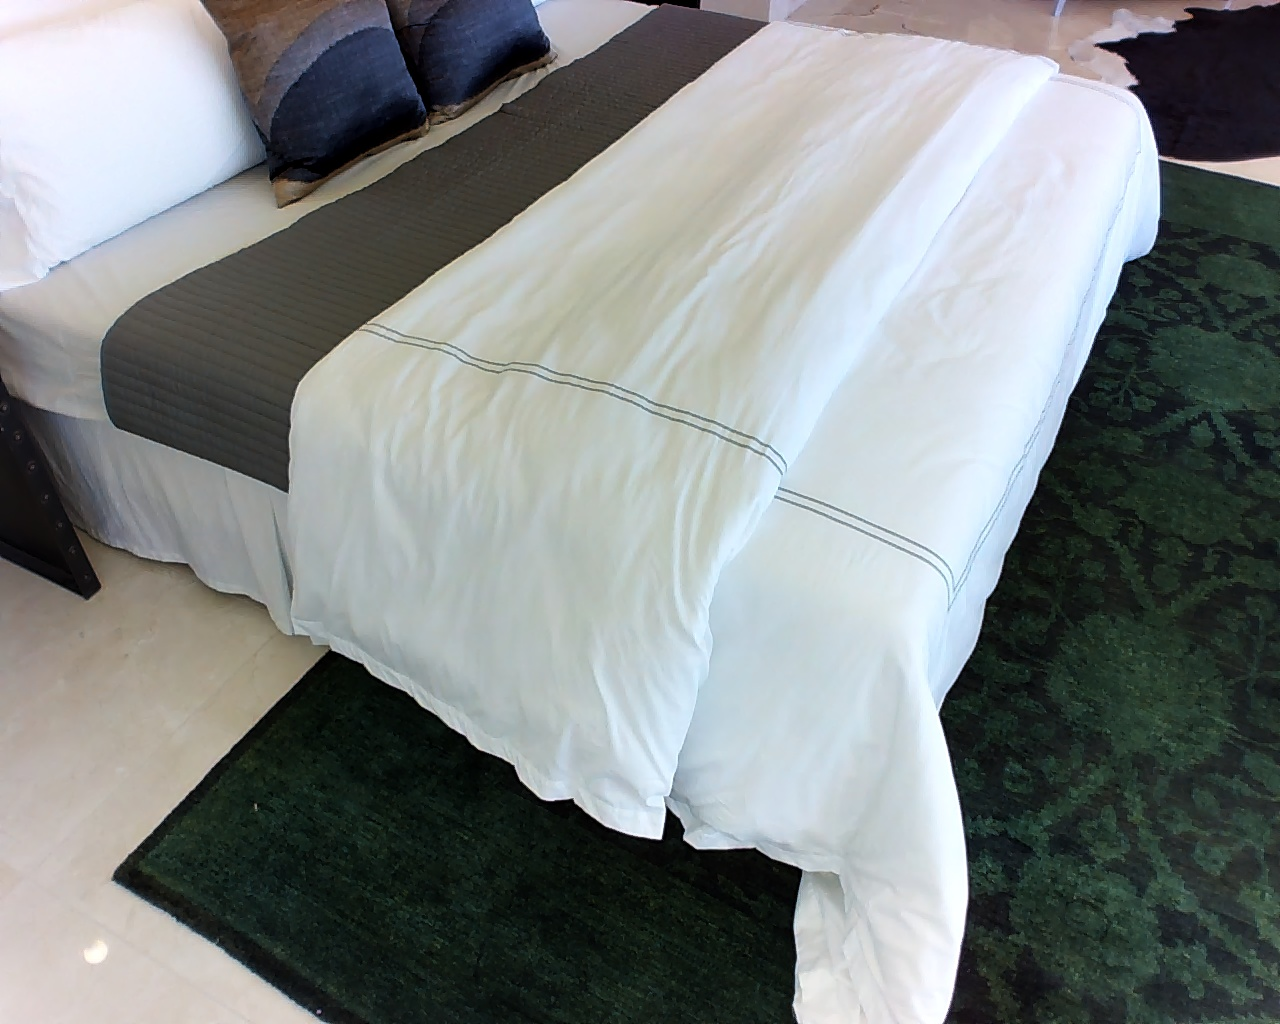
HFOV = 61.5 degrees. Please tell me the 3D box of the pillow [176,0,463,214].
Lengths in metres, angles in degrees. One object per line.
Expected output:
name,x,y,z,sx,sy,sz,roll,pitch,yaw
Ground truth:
pillow,-0.620,-0.930,2.170,0.200,0.360,0.490,21,70,20
